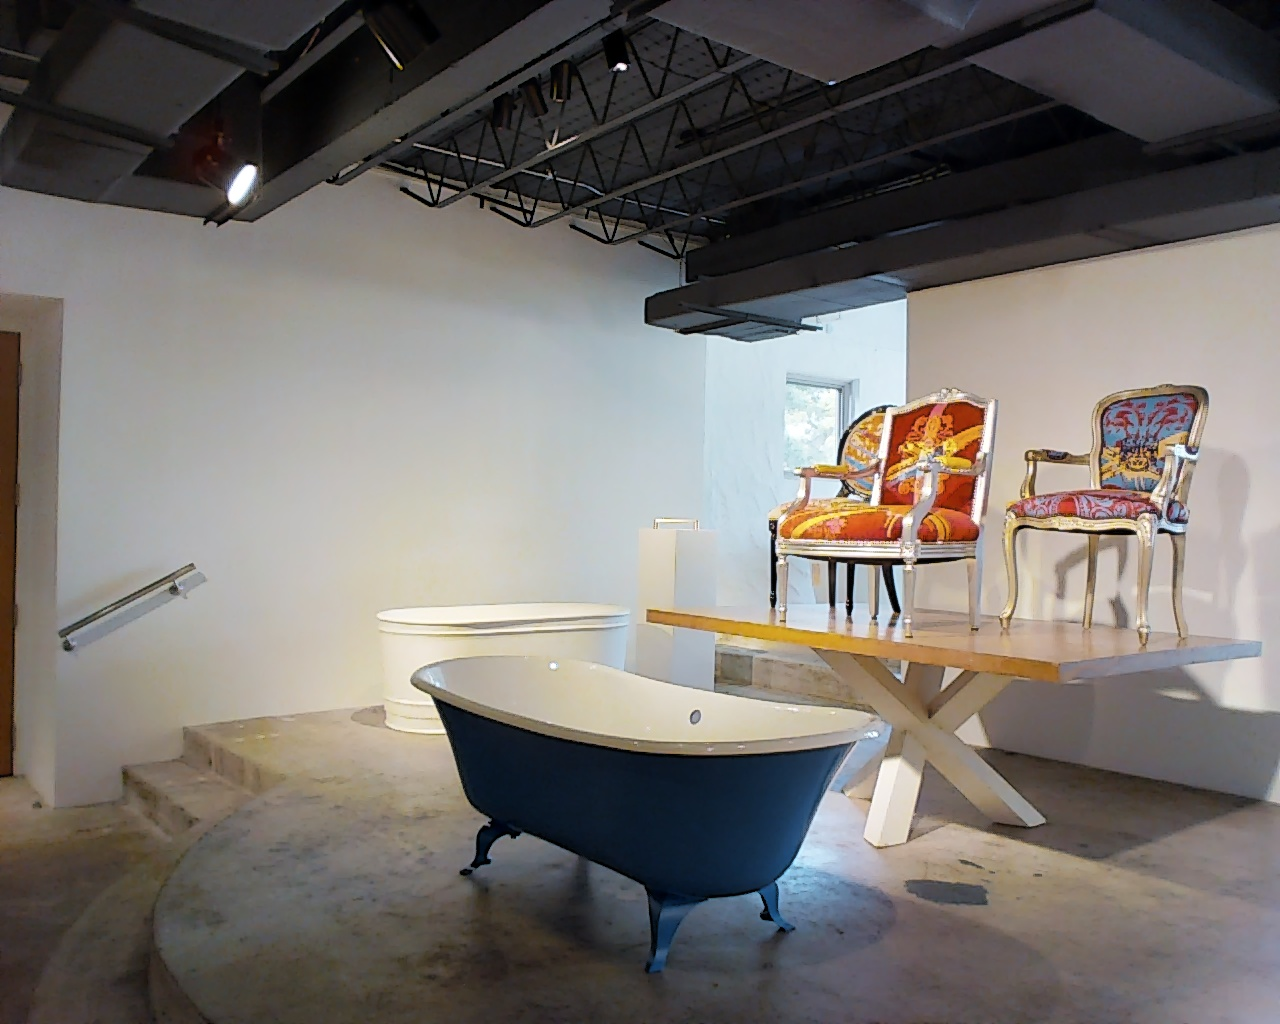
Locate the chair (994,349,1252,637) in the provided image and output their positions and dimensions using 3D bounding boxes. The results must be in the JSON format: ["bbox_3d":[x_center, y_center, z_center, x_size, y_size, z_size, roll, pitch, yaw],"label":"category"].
[{"bbox_3d":[1.770,-0.060,3.940,0.680,0.940,0.590,1,0,-36],"label":"chair"}]

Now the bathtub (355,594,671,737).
[{"bbox_3d":[-0.700,0.820,6.110,1.590,0.610,0.800,1,0,-37],"label":"bathtub"}]

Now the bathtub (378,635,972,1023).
[{"bbox_3d":[-0.020,0.790,3.170,0.810,0.630,1.750,1,0,-38],"label":"bathtub"}]

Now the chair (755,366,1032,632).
[{"bbox_3d":[0.940,-0.040,4.000,0.730,0.870,0.680,1,0,-38],"label":"chair"}]
